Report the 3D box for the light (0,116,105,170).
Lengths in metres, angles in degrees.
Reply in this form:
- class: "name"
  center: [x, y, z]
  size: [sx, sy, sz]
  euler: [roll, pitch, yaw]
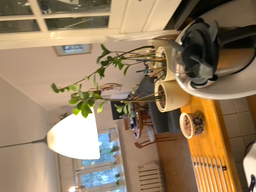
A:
- class: "light"
  center: [-0.410, 0.200, 0.880]
  size: [0.610, 0.150, 0.190]
  euler: [-1, 72, -9]
